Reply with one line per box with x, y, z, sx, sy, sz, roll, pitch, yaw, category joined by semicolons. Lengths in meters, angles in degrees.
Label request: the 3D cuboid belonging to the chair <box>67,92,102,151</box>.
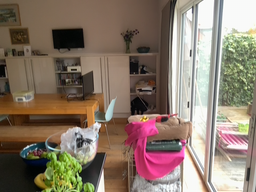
-0.710;0.390;3.450;0.470;0.810;0.450;-4;15;-14;chair

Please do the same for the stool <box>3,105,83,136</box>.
-1.550;0.450;3.970;1.300;0.450;0.400;-1;14;2;stool

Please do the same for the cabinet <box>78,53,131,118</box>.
-0.480;-0.230;4.670;1.060;1.370;0.350;-1;14;2;cabinet

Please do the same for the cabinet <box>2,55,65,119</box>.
-2.040;-0.200;4.690;1.050;1.360;0.400;-1;14;2;cabinet
